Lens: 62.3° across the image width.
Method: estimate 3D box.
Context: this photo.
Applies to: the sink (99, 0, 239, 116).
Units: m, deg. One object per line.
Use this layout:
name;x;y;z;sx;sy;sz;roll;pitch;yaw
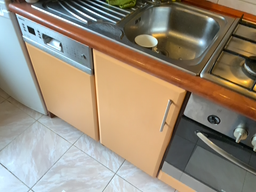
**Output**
sink;0.200;-0.240;0.980;0.410;0.200;0.540;27;51;19
